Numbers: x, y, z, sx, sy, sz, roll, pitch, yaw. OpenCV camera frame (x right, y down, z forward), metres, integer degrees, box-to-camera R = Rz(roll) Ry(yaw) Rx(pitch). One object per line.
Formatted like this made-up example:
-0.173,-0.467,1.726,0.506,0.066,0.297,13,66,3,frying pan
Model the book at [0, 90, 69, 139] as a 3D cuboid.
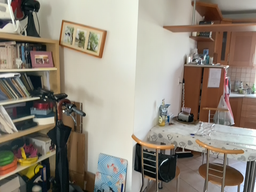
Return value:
-0.970,0.140,2.080,0.430,0.300,0.640,8,11,30,book
